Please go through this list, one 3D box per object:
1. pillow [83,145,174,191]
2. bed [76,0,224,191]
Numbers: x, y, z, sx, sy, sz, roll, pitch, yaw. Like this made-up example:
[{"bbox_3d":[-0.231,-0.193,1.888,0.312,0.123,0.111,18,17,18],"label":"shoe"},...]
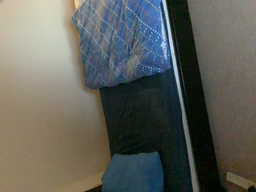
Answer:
[{"bbox_3d":[-0.030,0.610,1.690,0.680,0.380,0.160,-8,38,53],"label":"pillow"},{"bbox_3d":[0.090,-0.140,1.890,0.430,2.060,1.030,-10,0,-35],"label":"bed"}]
